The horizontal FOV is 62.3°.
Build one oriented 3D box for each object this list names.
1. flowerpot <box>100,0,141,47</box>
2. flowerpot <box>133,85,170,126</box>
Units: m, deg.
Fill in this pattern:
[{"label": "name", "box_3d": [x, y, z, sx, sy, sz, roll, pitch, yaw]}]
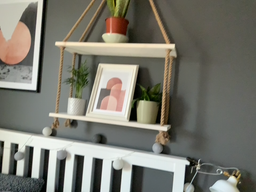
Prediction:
[{"label": "flowerpot", "box_3d": [-0.030, -0.540, 1.260, 0.160, 0.450, 0.180, 6, 1, 19]}, {"label": "flowerpot", "box_3d": [0.140, 0.050, 1.240, 0.180, 0.210, 0.150, 6, 1, 13]}]
